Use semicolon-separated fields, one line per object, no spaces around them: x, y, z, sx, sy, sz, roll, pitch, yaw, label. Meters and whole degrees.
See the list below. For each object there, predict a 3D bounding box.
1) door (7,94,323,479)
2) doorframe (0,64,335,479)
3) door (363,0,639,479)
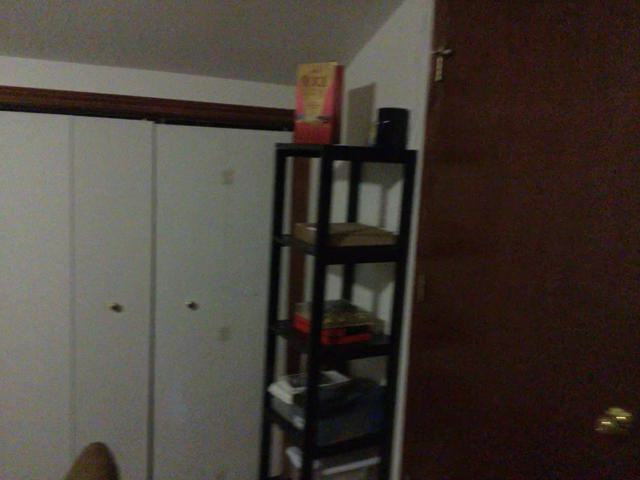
-0.610;0.300;2.390;1.180;1.600;0.180;1;8;-29;door
-0.640;0.290;2.380;1.330;1.760;0.230;1;8;-29;doorframe
0.540;0.140;1.590;0.250;1.950;0.880;1;8;-31;door
